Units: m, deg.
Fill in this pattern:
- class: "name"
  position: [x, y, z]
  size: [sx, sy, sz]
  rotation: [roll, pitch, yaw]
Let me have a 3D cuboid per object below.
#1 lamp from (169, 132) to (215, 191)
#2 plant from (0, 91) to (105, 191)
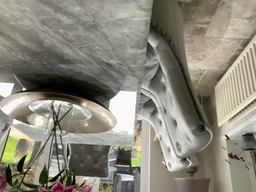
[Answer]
- class: "lamp"
  position: [0.720, 0.840, 2.460]
  size: [0.400, 0.740, 0.330]
  rotation: [3, 155, 1]
- class: "plant"
  position: [-0.360, 0.310, 1.050]
  size: [0.400, 0.600, 0.260]
  rotation: [3, 155, 2]
